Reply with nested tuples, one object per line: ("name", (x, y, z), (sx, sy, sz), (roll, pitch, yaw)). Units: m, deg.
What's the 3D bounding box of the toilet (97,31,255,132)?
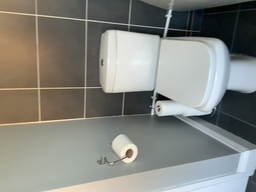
("toilet", (0.290, -0.150, 1.330), (0.690, 0.790, 0.420), (-145, 56, -61))
